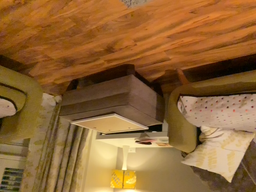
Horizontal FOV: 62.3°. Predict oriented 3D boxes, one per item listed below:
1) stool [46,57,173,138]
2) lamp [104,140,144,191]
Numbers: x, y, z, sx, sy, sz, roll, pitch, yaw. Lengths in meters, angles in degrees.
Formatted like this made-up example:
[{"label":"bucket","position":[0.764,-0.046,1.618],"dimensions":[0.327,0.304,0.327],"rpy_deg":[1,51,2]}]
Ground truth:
[{"label":"stool","position":[-0.170,0.100,2.060],"dimensions":[0.970,0.410,0.700],"rpy_deg":[-13,152,36]},{"label":"lamp","position":[-0.040,0.870,2.670],"dimensions":[0.340,0.560,0.320],"rpy_deg":[-10,153,32]}]
